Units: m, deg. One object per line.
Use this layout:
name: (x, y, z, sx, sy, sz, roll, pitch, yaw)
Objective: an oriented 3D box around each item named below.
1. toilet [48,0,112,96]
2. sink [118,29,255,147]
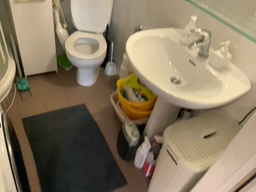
toilet: (-0.400, -0.530, 1.940, 0.420, 0.800, 0.650, 5, 43, -8)
sink: (0.260, -0.100, 1.160, 0.390, 0.230, 0.640, -11, 48, -23)
